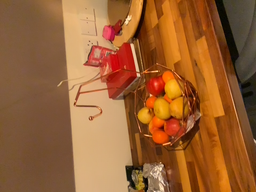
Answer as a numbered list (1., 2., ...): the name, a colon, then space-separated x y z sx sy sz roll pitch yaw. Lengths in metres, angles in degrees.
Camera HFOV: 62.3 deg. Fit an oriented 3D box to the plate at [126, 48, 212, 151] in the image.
1. plate: 0.110 0.030 0.710 0.270 0.090 0.270 -35 60 58
